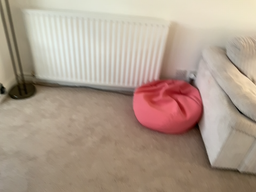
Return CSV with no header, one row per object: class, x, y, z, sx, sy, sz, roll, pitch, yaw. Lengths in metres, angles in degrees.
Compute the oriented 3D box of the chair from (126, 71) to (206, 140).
chair,0.320,0.060,2.030,0.620,0.260,0.640,5,36,0
